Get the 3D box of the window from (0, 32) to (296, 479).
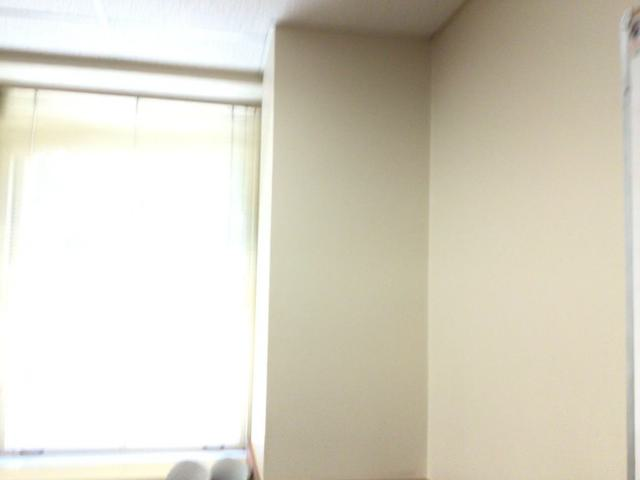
[{"bbox_3d":[-0.870,0.140,2.560,1.320,1.790,0.520,5,-4,-14],"label":"window"}]
